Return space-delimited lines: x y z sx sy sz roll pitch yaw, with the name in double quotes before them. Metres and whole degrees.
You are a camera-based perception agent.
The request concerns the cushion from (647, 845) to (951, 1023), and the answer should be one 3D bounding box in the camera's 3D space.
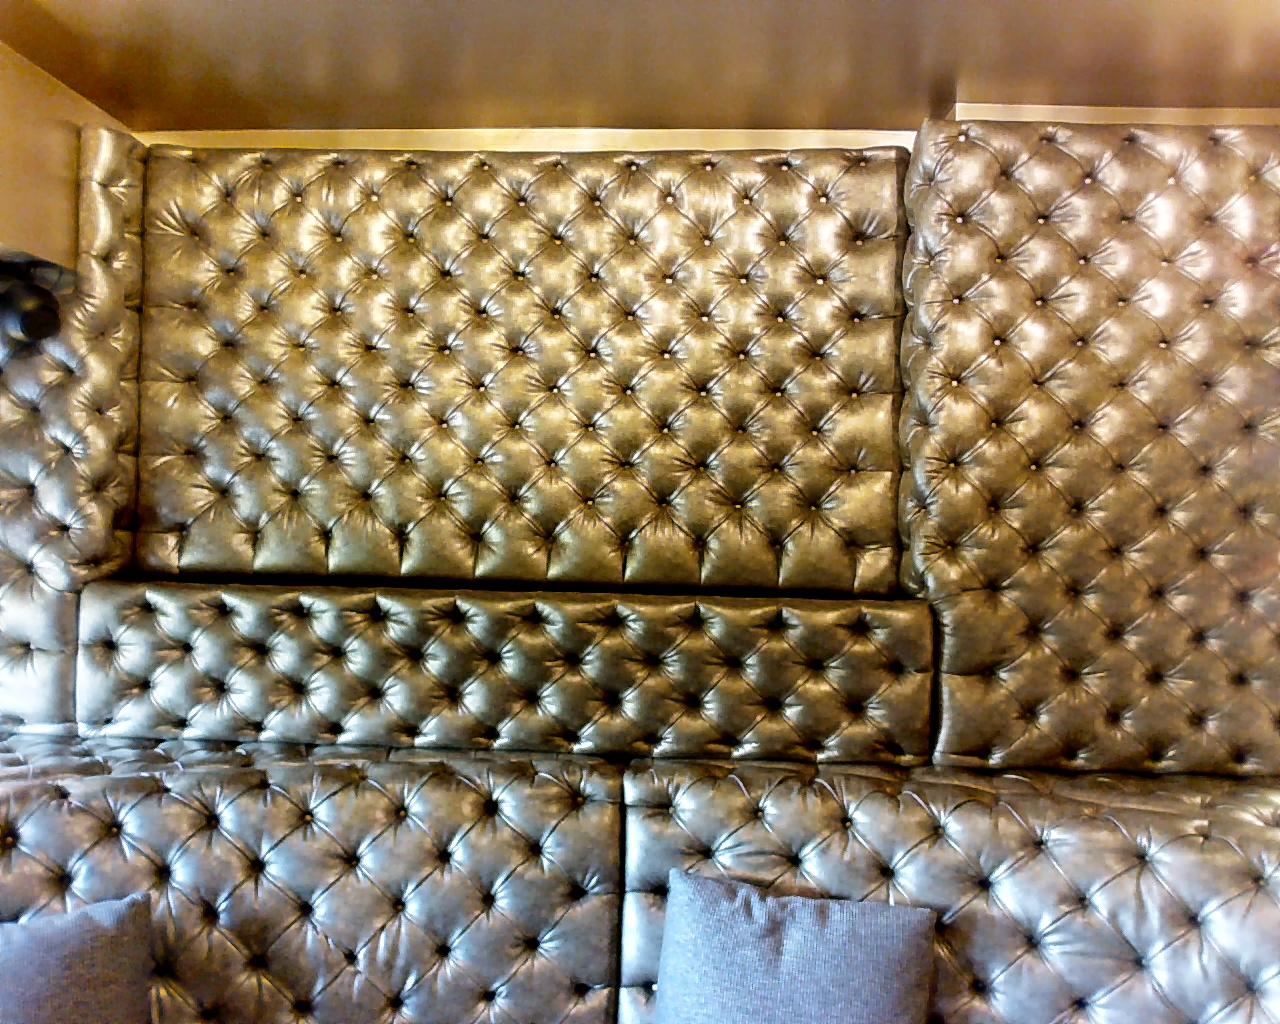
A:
"cushion" 0.290 0.920 1.990 0.520 0.530 0.270 0 -11 9
